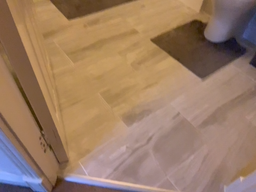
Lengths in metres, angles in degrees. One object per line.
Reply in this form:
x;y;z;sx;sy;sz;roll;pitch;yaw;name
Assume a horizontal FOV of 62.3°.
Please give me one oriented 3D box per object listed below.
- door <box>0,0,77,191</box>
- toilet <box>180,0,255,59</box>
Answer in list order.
-0.350;-0.590;0.400;0.100;2.150;0.910;-13;54;-15;door
0.790;-0.750;1.470;0.550;0.760;0.380;-29;60;-25;toilet
